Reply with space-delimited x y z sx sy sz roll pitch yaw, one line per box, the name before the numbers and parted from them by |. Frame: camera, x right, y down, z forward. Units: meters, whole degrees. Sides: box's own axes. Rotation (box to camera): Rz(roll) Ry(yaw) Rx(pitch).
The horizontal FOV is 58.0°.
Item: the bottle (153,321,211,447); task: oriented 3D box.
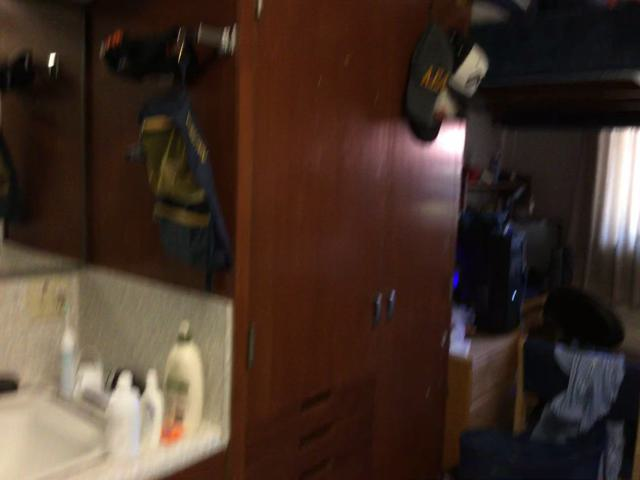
bottle | -0.300 0.310 1.260 0.090 0.240 0.080 8 12 38
